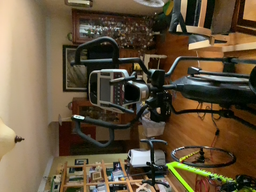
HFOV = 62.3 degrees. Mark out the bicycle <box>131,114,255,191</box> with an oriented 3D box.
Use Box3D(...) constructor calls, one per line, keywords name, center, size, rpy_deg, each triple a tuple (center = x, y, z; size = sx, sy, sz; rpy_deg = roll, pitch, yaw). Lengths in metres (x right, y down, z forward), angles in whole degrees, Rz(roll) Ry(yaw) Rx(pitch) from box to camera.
Box3D(name="bicycle", center=(0.740, 0.720, 1.590), size=(1.760, 1.030, 0.710), rpy_deg=(-138, 50, -74))
